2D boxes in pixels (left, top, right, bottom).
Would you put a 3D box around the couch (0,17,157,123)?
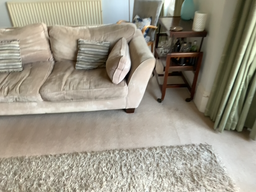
[{"bbox_3d":[-0.930,-0.360,2.490,2.330,0.820,1.050,-2,34,-2],"label":"couch"}]
